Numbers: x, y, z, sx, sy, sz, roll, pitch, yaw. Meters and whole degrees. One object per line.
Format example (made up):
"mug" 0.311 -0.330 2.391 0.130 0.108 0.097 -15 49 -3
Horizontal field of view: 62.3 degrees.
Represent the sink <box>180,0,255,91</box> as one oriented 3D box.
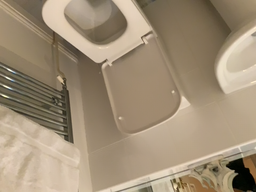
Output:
"sink" 0.480 -0.240 0.780 0.460 0.140 0.350 -27 148 20
